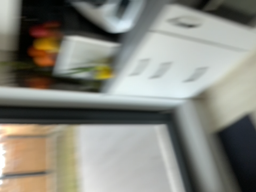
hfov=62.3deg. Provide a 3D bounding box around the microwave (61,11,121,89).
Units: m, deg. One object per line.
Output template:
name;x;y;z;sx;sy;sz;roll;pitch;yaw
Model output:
microwave;-0.260;-0.280;1.370;0.310;0.270;0.330;-49;45;49
